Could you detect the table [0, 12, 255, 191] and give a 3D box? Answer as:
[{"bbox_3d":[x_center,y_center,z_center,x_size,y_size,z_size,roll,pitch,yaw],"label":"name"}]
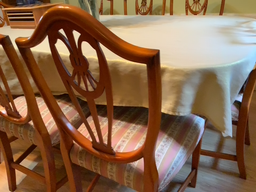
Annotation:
[{"bbox_3d":[-0.200,-0.140,1.590,1.900,0.760,1.110,12,32,27],"label":"table"}]
